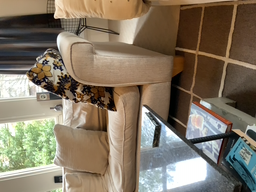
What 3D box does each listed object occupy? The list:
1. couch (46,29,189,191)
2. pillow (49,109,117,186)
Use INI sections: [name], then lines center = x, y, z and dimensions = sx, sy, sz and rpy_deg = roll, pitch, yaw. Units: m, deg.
[couch]
center = -0.220, 0.590, 1.890
dimensions = 0.960, 0.770, 2.190
rpy_deg = -136, 45, -61
[pillow]
center = -0.380, 0.450, 1.870
dimensions = 0.210, 0.430, 0.510
rpy_deg = 43, 149, 54
